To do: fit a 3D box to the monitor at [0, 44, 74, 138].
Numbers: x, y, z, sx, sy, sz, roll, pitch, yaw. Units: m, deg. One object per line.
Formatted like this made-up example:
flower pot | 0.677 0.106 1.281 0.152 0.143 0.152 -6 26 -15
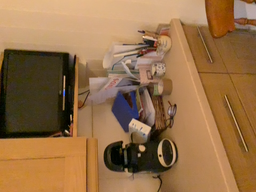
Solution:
monitor | -0.480 -0.030 1.120 0.030 0.370 0.480 140 130 -73
